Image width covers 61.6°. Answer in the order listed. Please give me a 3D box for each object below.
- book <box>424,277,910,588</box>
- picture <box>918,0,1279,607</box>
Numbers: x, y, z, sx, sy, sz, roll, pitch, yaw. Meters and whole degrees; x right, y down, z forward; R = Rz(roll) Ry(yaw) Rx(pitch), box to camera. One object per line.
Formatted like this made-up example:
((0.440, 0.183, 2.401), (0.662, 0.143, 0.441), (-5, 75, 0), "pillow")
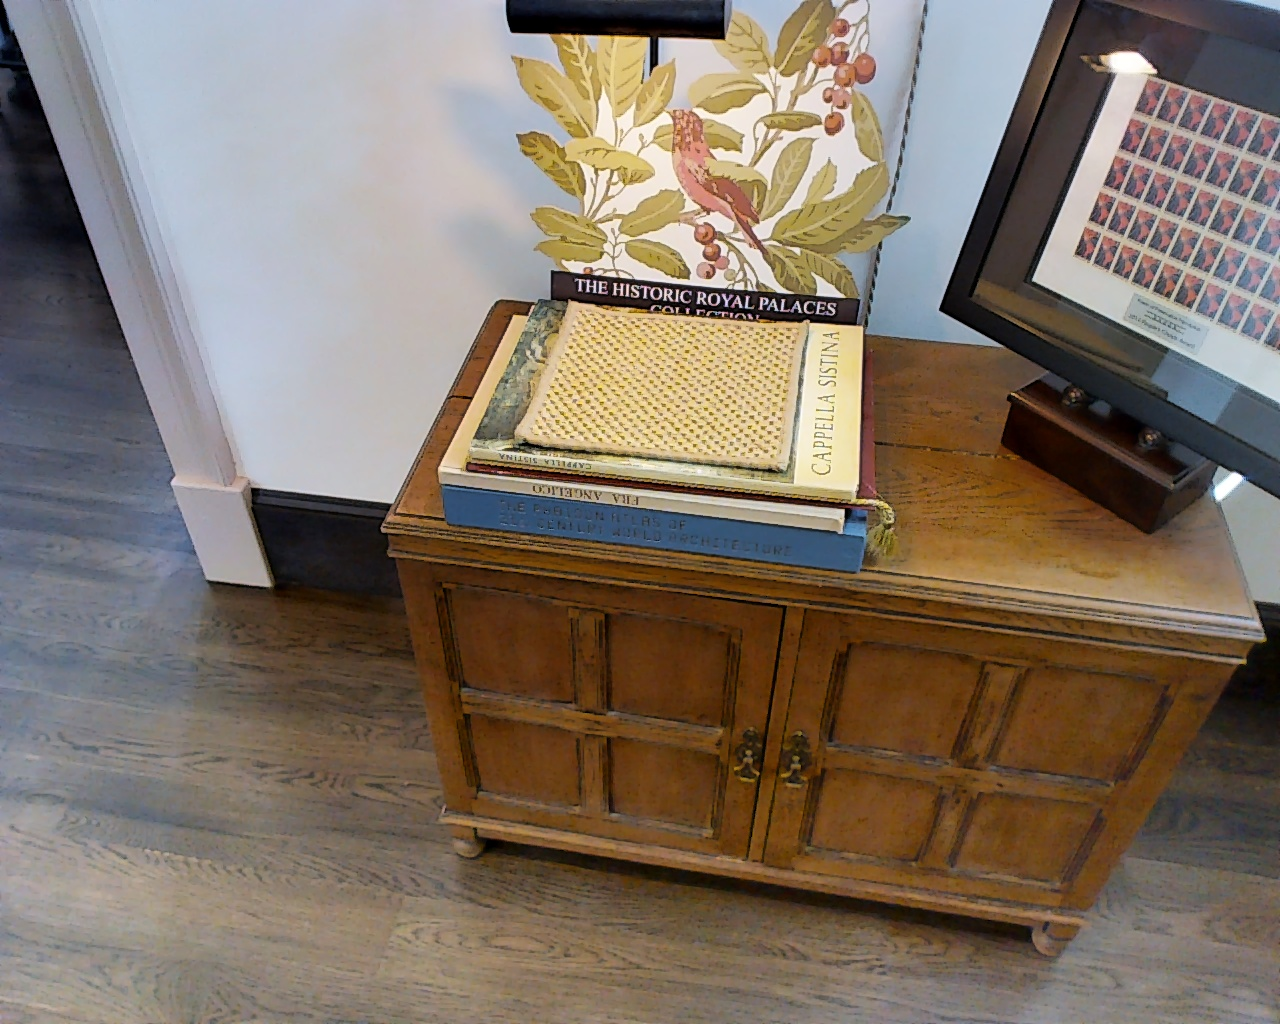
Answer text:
((0.050, -0.110, 1.260), (0.500, 0.120, 0.350), (7, 43, 7), "book")
((0.560, -0.230, 1.110), (0.090, 0.520, 0.510), (-19, 36, -33), "picture")
